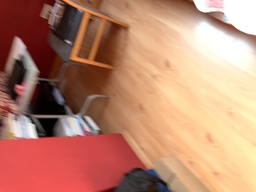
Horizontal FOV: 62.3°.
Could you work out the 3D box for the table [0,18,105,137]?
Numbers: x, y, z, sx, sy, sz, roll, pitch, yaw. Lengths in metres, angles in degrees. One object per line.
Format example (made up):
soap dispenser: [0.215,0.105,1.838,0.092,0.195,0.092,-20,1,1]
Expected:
table: [-0.920,-0.190,2.270,1.000,0.740,0.700,48,118,37]
